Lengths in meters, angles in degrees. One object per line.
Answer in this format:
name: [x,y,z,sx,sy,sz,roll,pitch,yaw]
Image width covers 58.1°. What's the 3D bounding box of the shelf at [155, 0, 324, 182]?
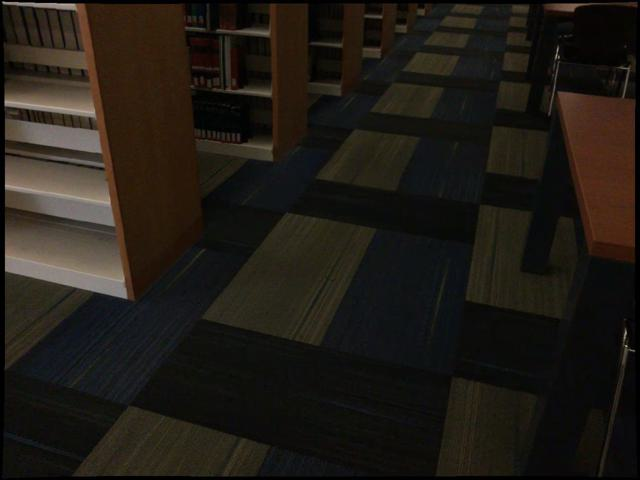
shelf: [-0.429,-1.584,3.180,0.758,2.365,0.670,9,31,13]
